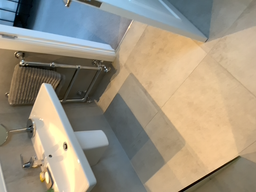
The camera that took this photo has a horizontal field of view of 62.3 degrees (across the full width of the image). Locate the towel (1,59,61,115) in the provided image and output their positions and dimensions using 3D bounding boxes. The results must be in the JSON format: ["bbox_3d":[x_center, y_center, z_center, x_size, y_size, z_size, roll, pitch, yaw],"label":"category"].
[{"bbox_3d":[-0.800,-0.060,1.730,0.460,0.310,0.160,-52,57,33],"label":"towel"}]

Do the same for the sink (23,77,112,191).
[{"bbox_3d":[-0.480,0.330,1.480,0.840,0.160,0.480,54,127,29],"label":"sink"}]
